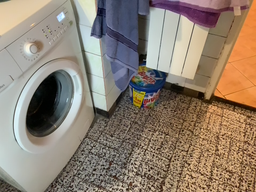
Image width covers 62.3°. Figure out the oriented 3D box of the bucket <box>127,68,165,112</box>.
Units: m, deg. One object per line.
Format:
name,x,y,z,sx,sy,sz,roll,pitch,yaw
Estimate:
bucket,0.120,-0.040,1.470,0.220,0.220,0.130,17,49,14
